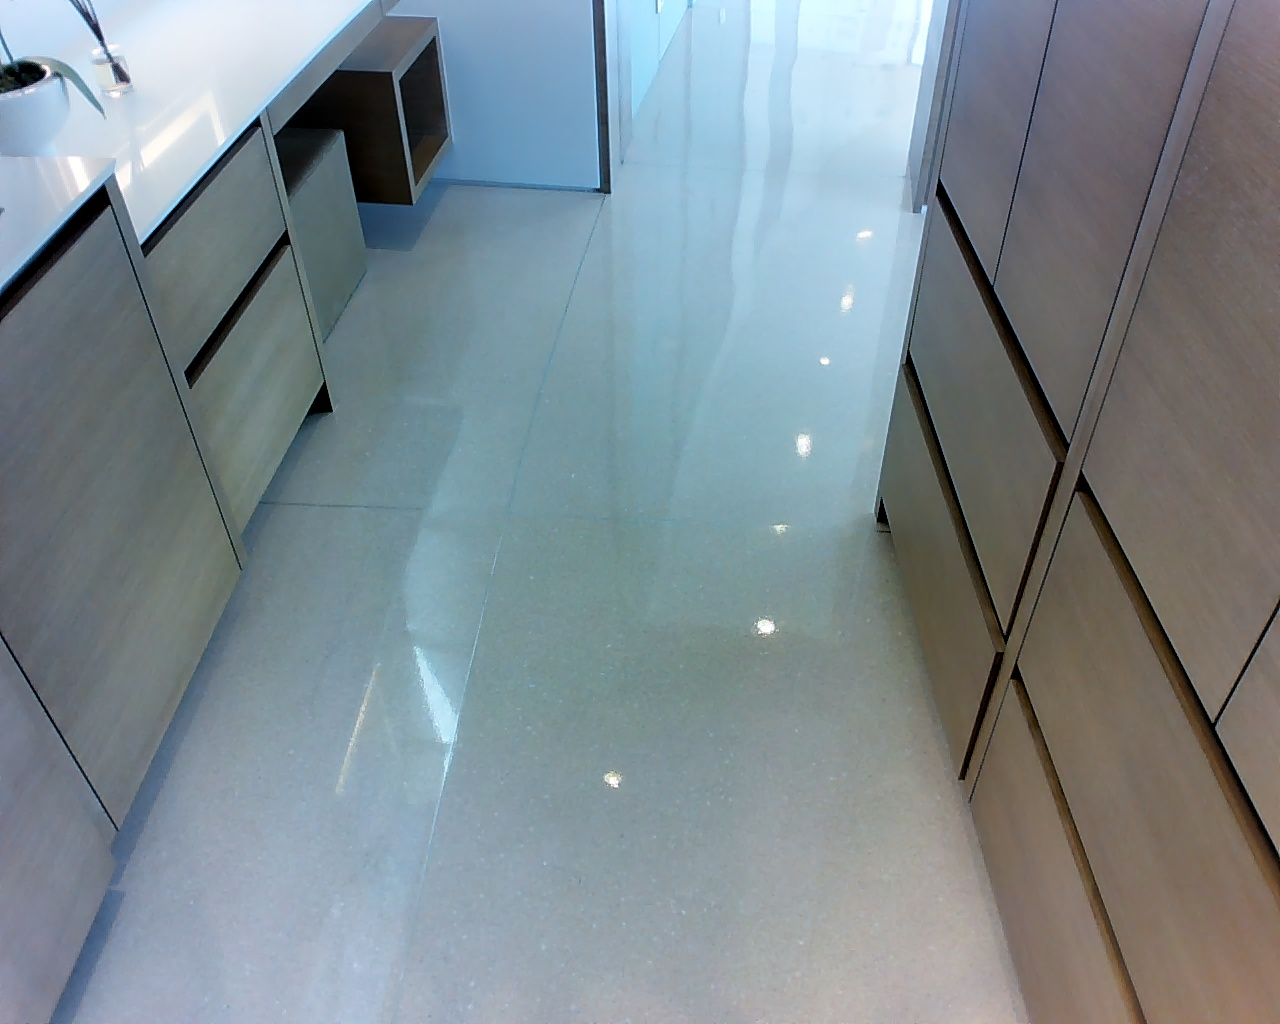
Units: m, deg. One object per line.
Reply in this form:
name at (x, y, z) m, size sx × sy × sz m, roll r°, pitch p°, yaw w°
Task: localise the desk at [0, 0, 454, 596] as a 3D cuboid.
desk at (-1.030, -0.750, 2.660) m, size 0.670 × 0.770 × 1.860 m, roll 3°, pitch 42°, yaw 4°
